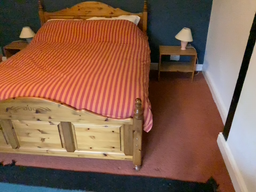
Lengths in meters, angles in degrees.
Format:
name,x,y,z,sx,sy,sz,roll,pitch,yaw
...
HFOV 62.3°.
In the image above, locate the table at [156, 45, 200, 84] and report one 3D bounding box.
name,x,y,z,sx,sy,sz,roll,pitch,yaw
table,0.730,-0.490,3.240,0.570,0.430,0.460,3,30,5
